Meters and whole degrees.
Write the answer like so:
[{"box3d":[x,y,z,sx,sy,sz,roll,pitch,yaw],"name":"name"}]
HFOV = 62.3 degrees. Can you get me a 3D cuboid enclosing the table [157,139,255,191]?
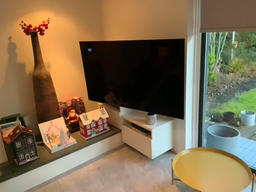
[{"box3d":[0.780,0.790,2.090,0.690,0.280,0.700,14,24,43],"name":"table"}]
